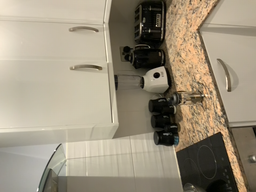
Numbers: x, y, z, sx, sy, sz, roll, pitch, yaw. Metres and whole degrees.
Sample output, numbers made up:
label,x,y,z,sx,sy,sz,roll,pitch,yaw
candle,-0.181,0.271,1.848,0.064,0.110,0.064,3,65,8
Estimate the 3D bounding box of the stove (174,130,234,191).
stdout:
label,x,y,z,sx,sy,sz,roll,pitch,yaw
stove,0.400,0.540,1.110,0.500,0.010,0.600,115,151,-62
